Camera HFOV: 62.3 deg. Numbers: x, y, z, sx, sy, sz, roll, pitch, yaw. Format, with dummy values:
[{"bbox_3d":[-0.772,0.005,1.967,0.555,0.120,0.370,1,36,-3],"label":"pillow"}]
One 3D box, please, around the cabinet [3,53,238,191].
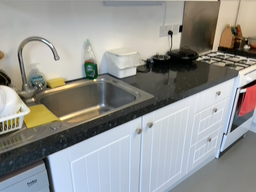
[{"bbox_3d":[0.080,0.300,1.630,1.550,0.930,0.600,-19,31,-36],"label":"cabinet"}]
